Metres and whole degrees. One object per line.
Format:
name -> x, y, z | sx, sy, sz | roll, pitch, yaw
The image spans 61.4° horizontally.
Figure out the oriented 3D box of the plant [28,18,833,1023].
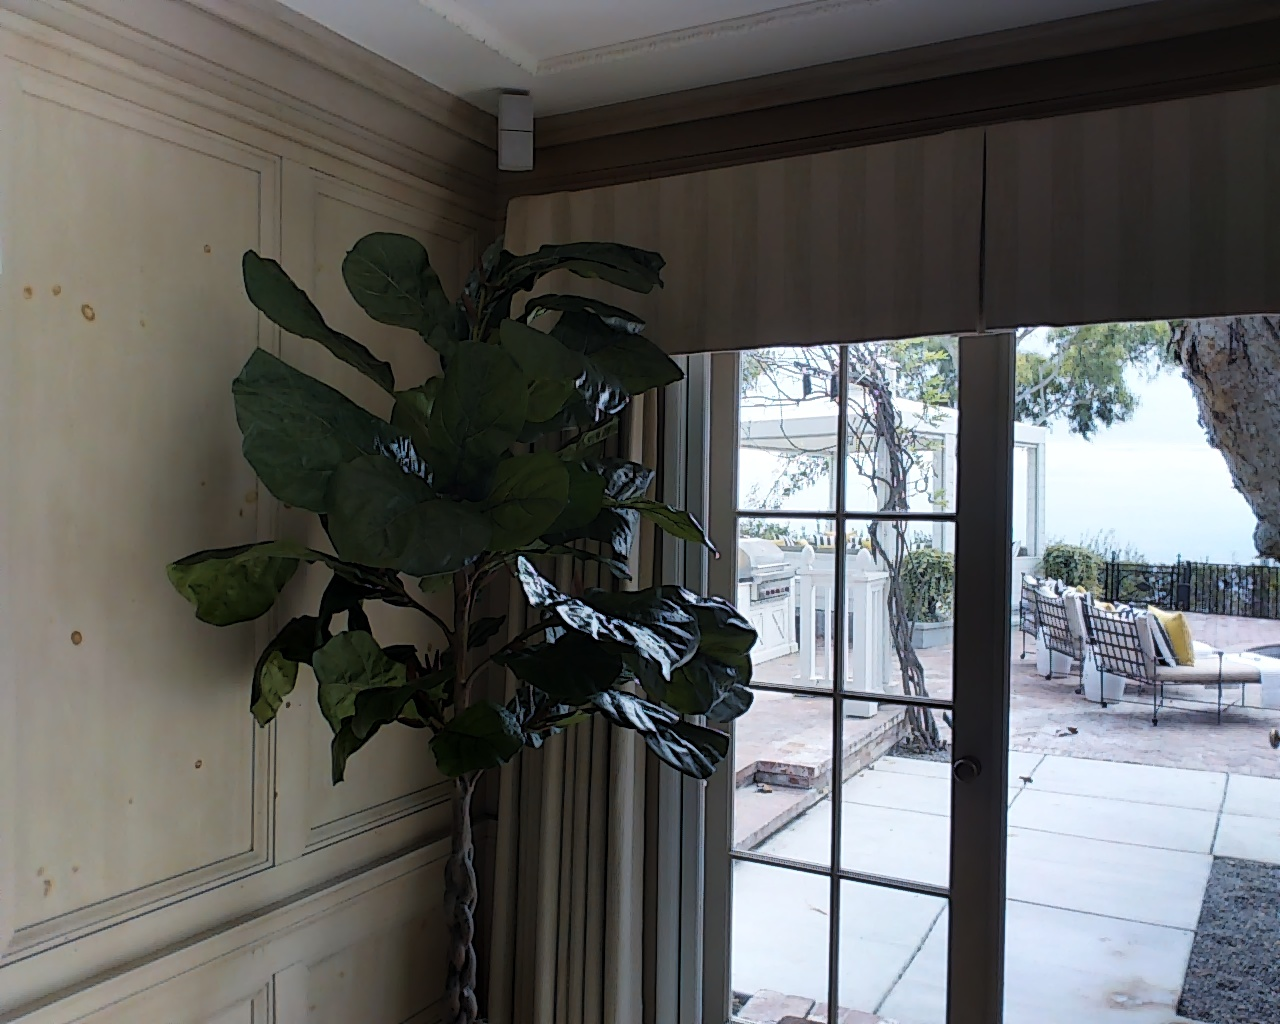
plant -> -0.300, 0.450, 2.050 | 1.000, 2.110, 1.140 | 1, 0, 27
